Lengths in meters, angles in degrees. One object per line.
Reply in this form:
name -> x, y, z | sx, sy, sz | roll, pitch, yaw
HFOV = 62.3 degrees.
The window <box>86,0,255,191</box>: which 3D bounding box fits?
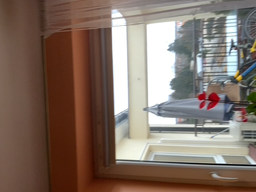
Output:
window -> 0.490, -0.170, 1.120 | 0.360, 1.340, 1.190 | -14, -77, -78
